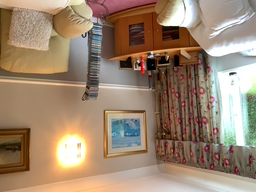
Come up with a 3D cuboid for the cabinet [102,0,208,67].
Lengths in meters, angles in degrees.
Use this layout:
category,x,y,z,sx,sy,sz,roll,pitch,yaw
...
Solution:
category,x,y,z,sx,sy,sz,roll,pitch,yaw
cabinet,0.320,-0.920,3.020,0.960,0.670,1.140,2,173,-33
